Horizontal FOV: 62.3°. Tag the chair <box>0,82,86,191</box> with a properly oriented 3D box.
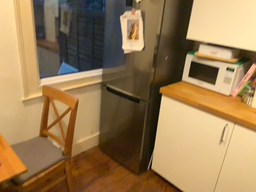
[{"bbox_3d":[-0.700,0.420,1.620,0.540,0.860,0.520,24,30,38],"label":"chair"}]
